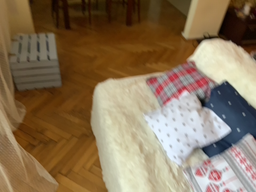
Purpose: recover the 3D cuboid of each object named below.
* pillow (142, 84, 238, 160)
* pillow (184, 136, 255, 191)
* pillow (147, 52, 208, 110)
[{"bbox_3d":[0.330,0.130,1.210,0.380,0.180,0.320,-11,46,-19],"label":"pillow"},{"bbox_3d":[0.490,0.400,0.910,0.130,0.420,0.410,-16,81,-24],"label":"pillow"},{"bbox_3d":[0.330,-0.110,1.450,0.270,0.120,0.350,-10,66,-21],"label":"pillow"}]
